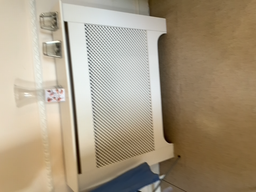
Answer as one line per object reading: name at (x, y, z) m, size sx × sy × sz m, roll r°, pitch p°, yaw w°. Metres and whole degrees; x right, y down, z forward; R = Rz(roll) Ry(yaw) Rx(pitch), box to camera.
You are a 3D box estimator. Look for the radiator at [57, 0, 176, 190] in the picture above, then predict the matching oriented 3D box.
radiator at (-0.030, -0.070, 1.500) m, size 0.210 × 0.790 × 1.160 m, roll 3°, pitch 98°, yaw 55°
